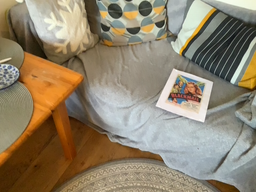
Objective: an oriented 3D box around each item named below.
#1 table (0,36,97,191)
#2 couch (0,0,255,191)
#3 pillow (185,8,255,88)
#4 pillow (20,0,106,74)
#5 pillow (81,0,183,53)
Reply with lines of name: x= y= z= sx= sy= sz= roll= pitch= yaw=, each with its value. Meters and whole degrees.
table: x=-0.570 y=0.180 z=0.900 sx=0.600 sy=0.550 sz=0.630 roll=21 pitch=48 yaw=15
couch: x=0.180 y=-0.150 z=1.220 sx=1.540 sy=0.630 sz=0.750 roll=21 pitch=48 yaw=15
pillow: x=0.560 y=-0.260 z=1.110 sx=0.400 sy=0.190 sz=0.300 roll=23 pitch=49 yaw=16
pillow: x=-0.300 y=-0.350 z=1.100 sx=0.300 sy=0.380 sz=0.140 roll=-40 pitch=67 yaw=-16
pillow: x=0.040 y=-0.570 z=1.290 sx=0.490 sy=0.320 sz=0.400 roll=22 pitch=49 yaw=15
